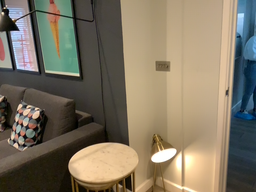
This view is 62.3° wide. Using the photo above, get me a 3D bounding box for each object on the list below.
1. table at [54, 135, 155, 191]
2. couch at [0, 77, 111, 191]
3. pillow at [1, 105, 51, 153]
[{"bbox_3d":[-0.150,0.740,1.630,0.500,0.610,0.540,10,20,40],"label":"table"},{"bbox_3d":[-1.290,0.440,2.300,2.030,0.980,1.010,10,20,41],"label":"couch"},{"bbox_3d":[-0.990,0.310,2.040,0.420,0.390,0.180,-7,18,47],"label":"pillow"}]
